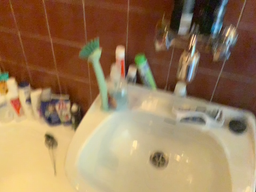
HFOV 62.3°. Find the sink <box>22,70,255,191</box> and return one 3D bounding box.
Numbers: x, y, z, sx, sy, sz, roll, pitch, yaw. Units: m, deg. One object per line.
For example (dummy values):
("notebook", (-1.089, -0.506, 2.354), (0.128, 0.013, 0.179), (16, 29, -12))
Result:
("sink", (0.080, 0.180, 0.640), (0.550, 0.240, 0.400), (15, 40, 14))
